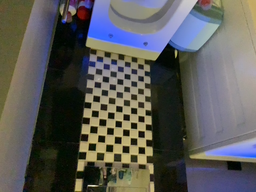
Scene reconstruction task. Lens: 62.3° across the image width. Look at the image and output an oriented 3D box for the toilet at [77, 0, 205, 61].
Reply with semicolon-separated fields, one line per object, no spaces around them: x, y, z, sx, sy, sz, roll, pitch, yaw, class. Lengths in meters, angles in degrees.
0.040;-0.460;0.850;0.390;0.340;0.530;9;154;-16;toilet
